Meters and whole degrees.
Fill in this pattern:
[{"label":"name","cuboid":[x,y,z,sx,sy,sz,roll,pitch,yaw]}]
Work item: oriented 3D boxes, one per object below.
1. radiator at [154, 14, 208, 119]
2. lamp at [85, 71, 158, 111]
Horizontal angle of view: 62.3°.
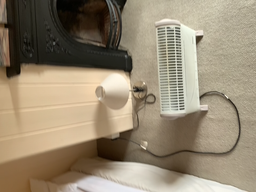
[{"label":"radiator","cuboid":[0.340,-0.160,1.300,0.130,0.390,0.550,-5,91,39]},{"label":"lamp","cuboid":[-0.030,-0.050,1.540,0.290,0.480,0.240,3,95,39]}]
